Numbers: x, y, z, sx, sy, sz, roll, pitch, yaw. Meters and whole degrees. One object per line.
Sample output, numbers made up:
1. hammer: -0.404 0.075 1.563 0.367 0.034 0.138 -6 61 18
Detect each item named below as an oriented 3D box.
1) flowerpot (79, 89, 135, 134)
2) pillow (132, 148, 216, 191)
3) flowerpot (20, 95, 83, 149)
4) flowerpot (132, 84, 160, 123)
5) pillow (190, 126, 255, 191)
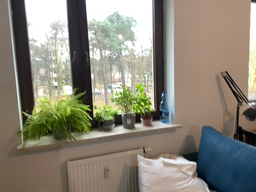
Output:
1. flowerpot: -0.210 0.140 2.150 0.510 0.370 0.230 -5 8 -20
2. pillow: 0.370 0.680 1.840 0.580 0.240 0.430 -4 8 -13
3. flowerpot: -0.650 0.200 1.870 0.450 0.350 0.400 -4 8 -16
4. flowerpot: 0.190 0.070 2.310 0.210 0.380 0.260 -4 8 -18
5. pillow: 0.850 0.590 1.690 0.240 0.480 0.820 -5 8 -20
